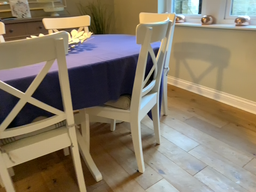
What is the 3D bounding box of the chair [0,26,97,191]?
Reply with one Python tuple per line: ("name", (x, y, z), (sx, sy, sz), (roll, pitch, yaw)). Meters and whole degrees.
("chair", (-0.510, 0.140, 1.090), (0.420, 0.890, 0.530), (-18, 27, -31))
